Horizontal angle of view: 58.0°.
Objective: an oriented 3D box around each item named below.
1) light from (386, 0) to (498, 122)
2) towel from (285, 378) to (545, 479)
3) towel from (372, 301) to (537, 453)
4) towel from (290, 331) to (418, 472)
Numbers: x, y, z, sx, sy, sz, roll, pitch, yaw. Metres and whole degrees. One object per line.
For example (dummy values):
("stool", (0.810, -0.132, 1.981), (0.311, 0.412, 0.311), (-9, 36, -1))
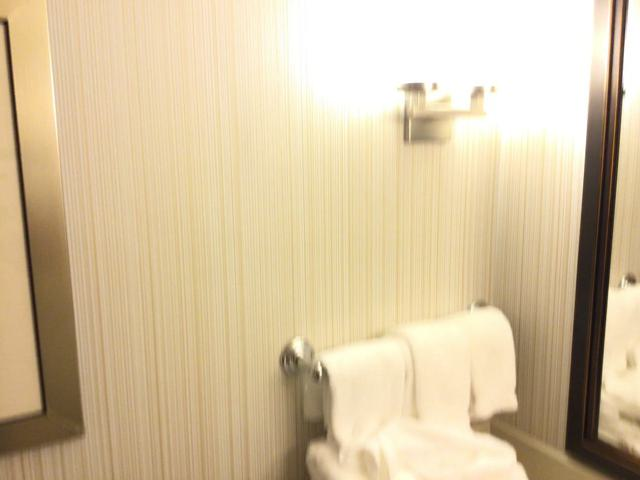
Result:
("light", (0.220, -0.340, 1.040), (0.170, 0.240, 0.090), (-4, 10, -30))
("towel", (0.160, 0.410, 1.030), (0.360, 0.180, 0.270), (-4, 10, -30))
("towel", (0.260, 0.250, 1.120), (0.290, 0.210, 0.130), (-4, 10, -30))
("towel", (0.060, 0.280, 1.040), (0.190, 0.180, 0.120), (-4, 10, -30))
